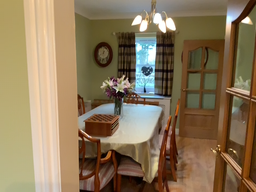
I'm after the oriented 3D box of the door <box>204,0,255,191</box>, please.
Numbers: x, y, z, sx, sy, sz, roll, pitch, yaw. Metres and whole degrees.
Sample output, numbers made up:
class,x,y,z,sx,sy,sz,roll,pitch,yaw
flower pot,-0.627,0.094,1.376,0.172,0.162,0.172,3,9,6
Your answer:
class,x,y,z,sx,sy,sz,roll,pitch,yaw
door,0.540,0.370,1.040,0.060,1.980,0.710,1,10,3

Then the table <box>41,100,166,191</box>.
class,x,y,z,sx,sy,sz,roll,pitch,yaw
table,-0.130,0.630,3.040,1.110,0.770,1.880,4,10,16
